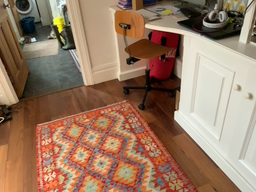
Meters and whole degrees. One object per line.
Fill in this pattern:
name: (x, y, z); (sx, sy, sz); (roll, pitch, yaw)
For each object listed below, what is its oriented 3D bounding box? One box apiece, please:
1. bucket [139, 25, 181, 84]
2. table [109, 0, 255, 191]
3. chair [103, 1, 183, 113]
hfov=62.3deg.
bucket: (0.370, -0.490, 2.480); (0.360, 0.530, 0.300); (-31, 42, -34)
table: (0.570, -0.140, 1.680); (0.720, 0.820, 2.160); (-16, 36, -16)
chair: (0.150, -0.390, 2.060); (0.480, 0.870, 0.490); (-28, 41, -31)
